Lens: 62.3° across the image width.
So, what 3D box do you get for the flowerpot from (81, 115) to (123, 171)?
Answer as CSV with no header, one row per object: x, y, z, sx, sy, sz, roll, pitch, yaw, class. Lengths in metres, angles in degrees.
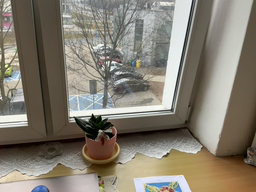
-0.130,0.210,0.990,0.170,0.170,0.180,-2,23,-13,flowerpot
